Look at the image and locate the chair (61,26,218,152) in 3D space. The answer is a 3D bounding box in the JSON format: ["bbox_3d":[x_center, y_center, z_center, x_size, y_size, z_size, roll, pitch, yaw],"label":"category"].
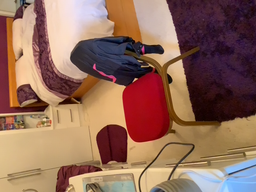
[{"bbox_3d":[0.070,-0.010,1.390,0.460,0.830,0.580,-27,69,54],"label":"chair"}]
